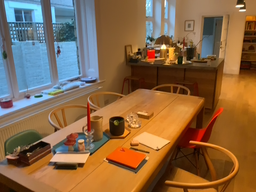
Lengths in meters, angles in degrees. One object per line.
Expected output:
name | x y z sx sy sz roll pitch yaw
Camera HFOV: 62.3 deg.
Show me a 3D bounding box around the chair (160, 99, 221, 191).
chair | 0.630 0.480 2.160 0.450 0.770 0.380 10 20 30
